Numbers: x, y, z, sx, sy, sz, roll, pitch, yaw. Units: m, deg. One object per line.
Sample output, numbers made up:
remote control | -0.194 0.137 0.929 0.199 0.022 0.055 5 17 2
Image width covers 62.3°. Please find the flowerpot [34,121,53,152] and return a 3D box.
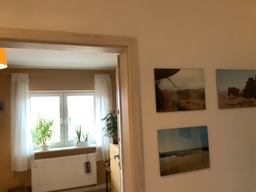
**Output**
flowerpot | -1.640 0.780 4.140 0.330 0.530 0.310 -1 -3 -20
